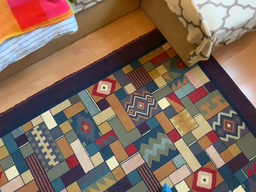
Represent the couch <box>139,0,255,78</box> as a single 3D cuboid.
[{"bbox_3d":[0.610,-0.680,1.230,0.850,0.720,0.600,-29,76,-11],"label":"couch"}]
